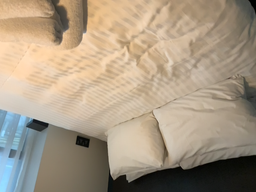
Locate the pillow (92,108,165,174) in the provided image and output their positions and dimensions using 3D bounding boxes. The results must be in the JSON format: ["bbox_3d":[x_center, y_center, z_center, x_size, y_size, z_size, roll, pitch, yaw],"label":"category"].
[{"bbox_3d":[-0.040,0.390,1.740,0.240,0.370,0.670,-1,157,-31],"label":"pillow"}]

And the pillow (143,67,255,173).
[{"bbox_3d":[0.460,0.170,1.320,0.220,0.440,0.620,-10,163,-47],"label":"pillow"}]
